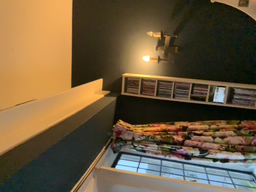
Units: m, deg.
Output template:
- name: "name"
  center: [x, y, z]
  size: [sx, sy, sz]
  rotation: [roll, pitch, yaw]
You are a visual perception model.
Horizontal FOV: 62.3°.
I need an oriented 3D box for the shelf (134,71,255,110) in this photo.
- name: "shelf"
  center: [1.050, -0.020, 2.010]
  size: [0.190, 1.970, 0.230]
  rotation: [-46, -38, -72]
